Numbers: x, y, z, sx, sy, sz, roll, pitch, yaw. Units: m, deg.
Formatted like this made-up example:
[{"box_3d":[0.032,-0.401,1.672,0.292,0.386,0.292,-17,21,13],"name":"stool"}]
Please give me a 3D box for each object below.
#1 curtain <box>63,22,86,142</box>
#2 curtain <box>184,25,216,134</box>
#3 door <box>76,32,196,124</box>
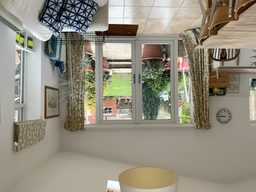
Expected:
[{"box_3d":[-1.090,-0.290,4.380,0.420,2.410,0.190,0,178,-5],"name":"curtain"},{"box_3d":[1.500,-0.340,4.460,0.540,2.230,0.290,0,178,-4],"name":"curtain"},{"box_3d":[0.190,-0.400,4.870,2.710,2.070,0.170,0,178,-2],"name":"door"}]
